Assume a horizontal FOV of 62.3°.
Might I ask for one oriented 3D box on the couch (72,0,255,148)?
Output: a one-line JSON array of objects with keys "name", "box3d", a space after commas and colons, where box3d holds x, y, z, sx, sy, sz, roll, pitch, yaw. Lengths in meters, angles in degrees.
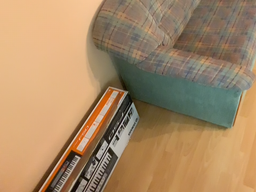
[{"name": "couch", "box3d": [0.590, -0.680, 1.660, 0.940, 0.870, 1.690, 18, 62, 26]}]
